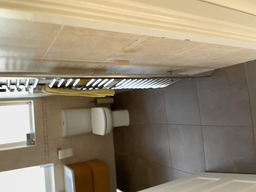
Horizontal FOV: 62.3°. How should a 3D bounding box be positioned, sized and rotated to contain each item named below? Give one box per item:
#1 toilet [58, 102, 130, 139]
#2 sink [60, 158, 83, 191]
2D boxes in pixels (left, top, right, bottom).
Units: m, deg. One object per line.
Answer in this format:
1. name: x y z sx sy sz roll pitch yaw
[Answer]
1. toilet: -0.490 0.320 2.970 0.680 0.780 0.400 -9 84 58
2. sink: -0.760 1.270 2.850 0.450 0.170 0.760 -9 84 58
